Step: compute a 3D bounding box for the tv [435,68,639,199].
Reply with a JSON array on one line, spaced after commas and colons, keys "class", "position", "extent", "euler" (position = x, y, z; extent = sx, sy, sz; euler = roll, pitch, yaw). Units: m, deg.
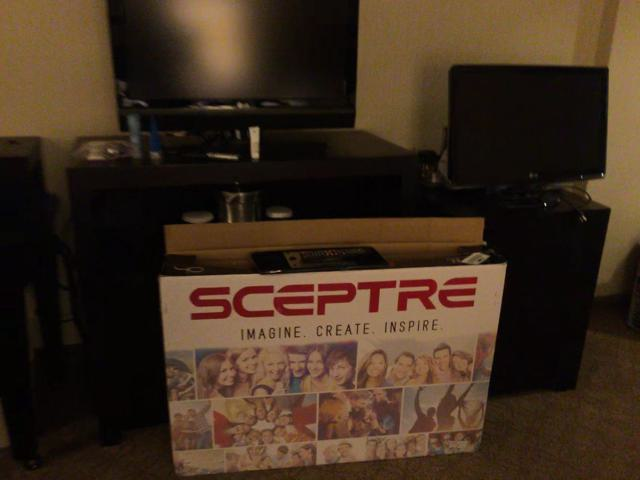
[{"class": "tv", "position": [0.750, -0.380, 2.030], "extent": [0.640, 0.420, 0.150], "euler": [-3, 19, -12]}]

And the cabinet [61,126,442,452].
[{"class": "cabinet", "position": [-0.230, 0.120, 2.120], "extent": [1.120, 0.970, 0.560], "euler": [-3, 19, -12]}]

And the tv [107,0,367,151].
[{"class": "tv", "position": [-0.260, -0.610, 1.910], "extent": [0.790, 0.580, 0.190], "euler": [-3, 19, -12]}]
